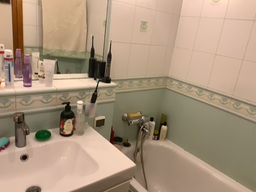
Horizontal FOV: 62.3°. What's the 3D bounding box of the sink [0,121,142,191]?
[{"bbox_3d":[-0.420,0.340,0.940,0.830,0.130,0.500,-7,23,-39],"label":"sink"}]
